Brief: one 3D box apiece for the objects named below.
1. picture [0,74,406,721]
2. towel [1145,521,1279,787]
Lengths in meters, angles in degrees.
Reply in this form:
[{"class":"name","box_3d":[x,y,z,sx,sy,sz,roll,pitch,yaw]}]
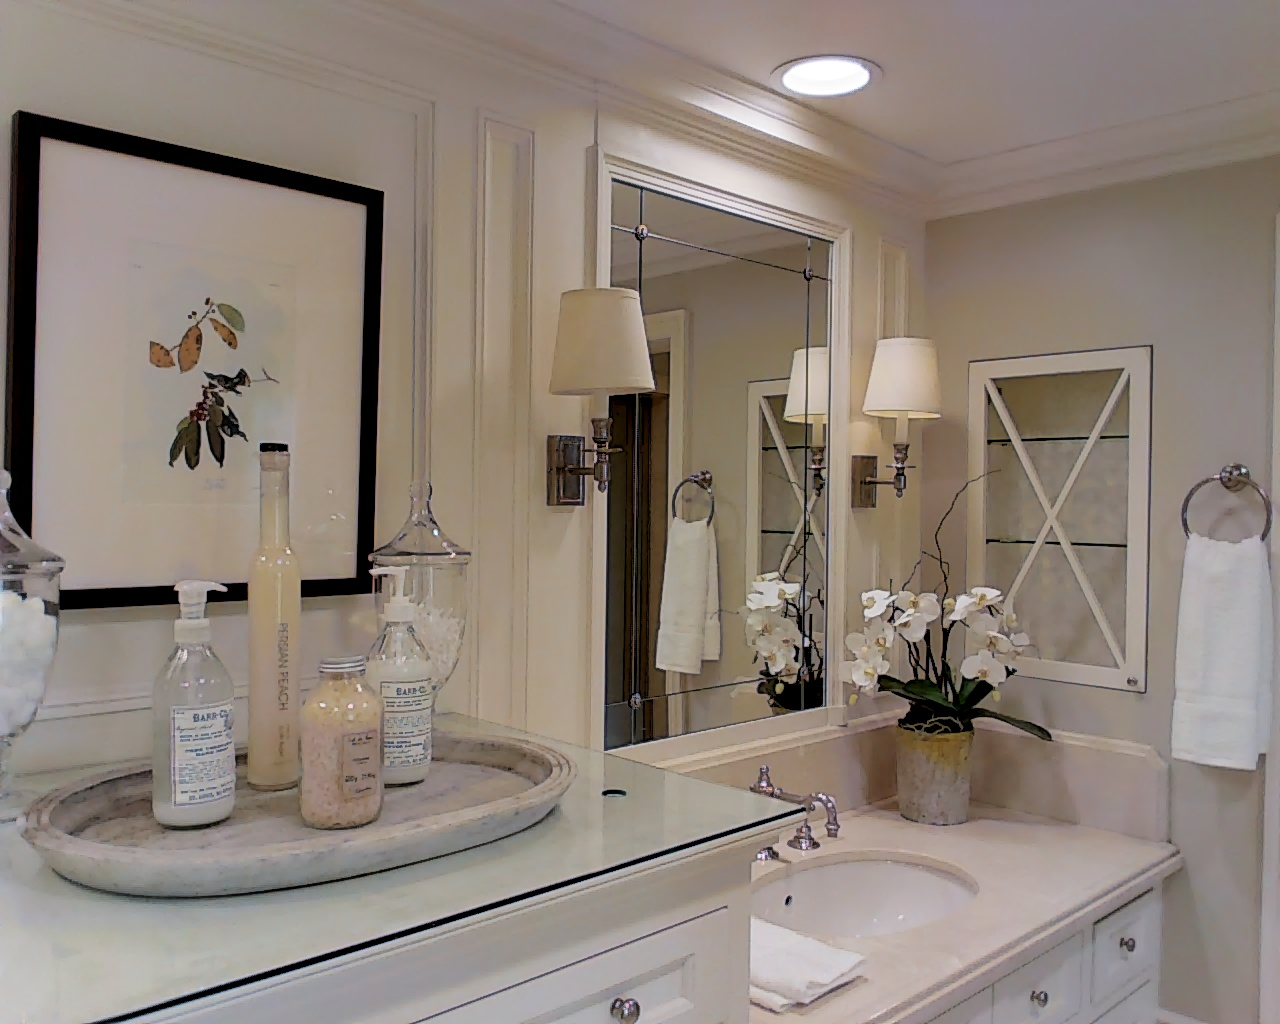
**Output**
[{"class":"picture","box_3d":[-0.520,-0.120,1.320,0.500,0.680,0.050,0,1,-44]},{"class":"towel","box_3d":[1.040,0.240,1.930,0.140,0.440,0.200,0,1,-45]}]
